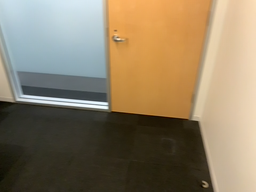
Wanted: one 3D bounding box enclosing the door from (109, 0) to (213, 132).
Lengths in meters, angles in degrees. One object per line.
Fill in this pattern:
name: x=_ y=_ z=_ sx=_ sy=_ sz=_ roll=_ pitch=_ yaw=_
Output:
door: x=0.270 y=-0.600 z=2.020 sx=0.890 sy=2.290 sz=0.060 roll=5 pitch=32 yaw=7
